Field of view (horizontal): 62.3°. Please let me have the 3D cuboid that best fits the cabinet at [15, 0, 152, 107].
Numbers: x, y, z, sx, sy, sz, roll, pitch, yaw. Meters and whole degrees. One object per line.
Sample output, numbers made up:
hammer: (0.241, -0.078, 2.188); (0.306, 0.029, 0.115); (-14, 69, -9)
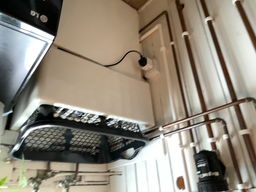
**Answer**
cabinet: (-0.250, -0.360, 1.300); (0.600, 0.630, 0.430); (19, 146, -38)
